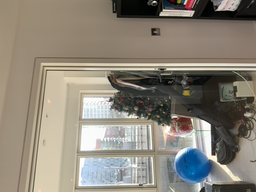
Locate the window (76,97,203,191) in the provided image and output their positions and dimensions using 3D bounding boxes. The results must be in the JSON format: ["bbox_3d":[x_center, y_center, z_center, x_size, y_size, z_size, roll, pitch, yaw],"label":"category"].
[{"bbox_3d":[0.200,1.100,3.920,0.110,2.200,2.260,98,172,-70],"label":"window"}]
